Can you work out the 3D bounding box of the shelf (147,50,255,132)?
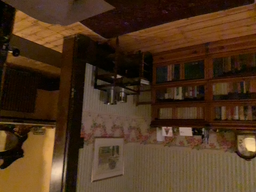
[{"bbox_3d":[1.130,-0.020,2.980,1.740,0.970,0.350,-3,169,35],"label":"shelf"}]
